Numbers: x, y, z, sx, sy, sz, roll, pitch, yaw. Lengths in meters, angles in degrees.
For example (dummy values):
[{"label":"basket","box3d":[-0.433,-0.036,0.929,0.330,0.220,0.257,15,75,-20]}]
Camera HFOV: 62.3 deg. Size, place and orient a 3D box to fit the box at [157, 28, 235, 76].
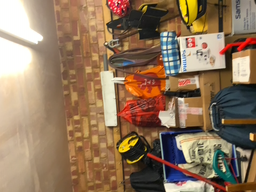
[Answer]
[{"label":"box","box3d":[0.510,-0.330,1.690,0.390,0.470,0.290,-136,41,-86]}]
